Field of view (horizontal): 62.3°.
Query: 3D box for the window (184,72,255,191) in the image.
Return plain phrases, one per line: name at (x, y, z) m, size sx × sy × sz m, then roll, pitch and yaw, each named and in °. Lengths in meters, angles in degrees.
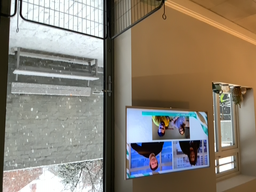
window at (1.430, 0.510, 3.140) m, size 1.370 × 1.530 × 0.360 m, roll 3°, pitch 173°, yaw -38°
